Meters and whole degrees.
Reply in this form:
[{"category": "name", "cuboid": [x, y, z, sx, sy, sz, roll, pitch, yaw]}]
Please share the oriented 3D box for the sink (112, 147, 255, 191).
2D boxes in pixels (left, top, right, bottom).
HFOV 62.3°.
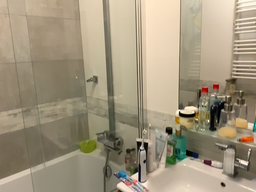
[{"category": "sink", "cuboid": [0.310, 0.420, 0.830, 0.450, 0.120, 0.610, -13, 17, -43]}]
